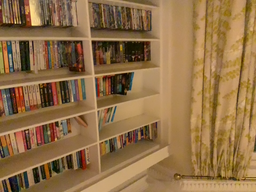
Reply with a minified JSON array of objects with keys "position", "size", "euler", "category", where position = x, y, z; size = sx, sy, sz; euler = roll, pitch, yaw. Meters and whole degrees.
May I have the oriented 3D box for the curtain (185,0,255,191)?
[{"position":[0.860,-0.500,1.780],"size":[0.390,3.200,0.510],"euler":[-13,-163,-42],"category":"curtain"}]
